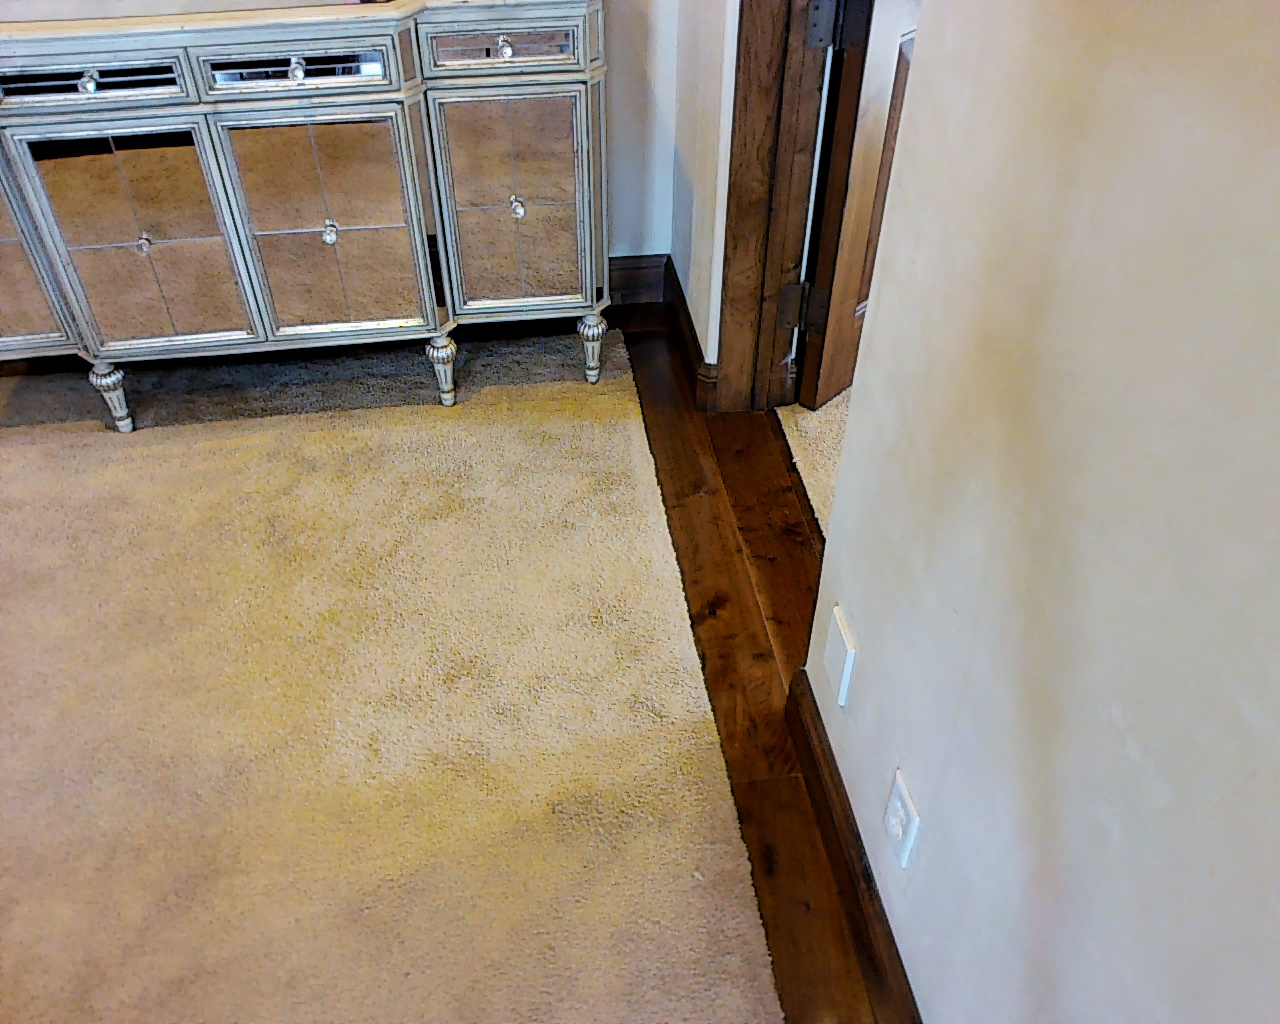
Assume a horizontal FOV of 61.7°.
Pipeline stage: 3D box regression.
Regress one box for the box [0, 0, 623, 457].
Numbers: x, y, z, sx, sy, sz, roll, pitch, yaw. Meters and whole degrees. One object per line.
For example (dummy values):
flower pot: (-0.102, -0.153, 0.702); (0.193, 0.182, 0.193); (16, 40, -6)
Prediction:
box: (-0.850, -0.700, 2.400); (1.560, 0.910, 0.530); (-5, 43, -6)
